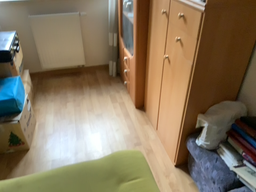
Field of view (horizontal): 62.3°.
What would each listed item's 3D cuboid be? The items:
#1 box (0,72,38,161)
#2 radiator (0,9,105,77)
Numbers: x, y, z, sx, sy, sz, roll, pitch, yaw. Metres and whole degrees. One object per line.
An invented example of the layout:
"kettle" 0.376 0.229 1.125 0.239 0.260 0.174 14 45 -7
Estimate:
"box" -1.010 0.170 1.650 0.440 0.510 0.410 -14 37 -19
"radiator" -0.800 -0.600 2.420 1.020 0.650 0.150 -8 36 -11
